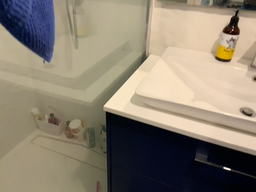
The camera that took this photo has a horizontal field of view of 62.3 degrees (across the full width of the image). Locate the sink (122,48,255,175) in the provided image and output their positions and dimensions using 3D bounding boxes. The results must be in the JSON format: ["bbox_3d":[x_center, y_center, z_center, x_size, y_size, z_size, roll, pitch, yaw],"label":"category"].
[{"bbox_3d":[0.490,0.050,0.820,0.900,0.190,0.490,14,34,18],"label":"sink"}]
